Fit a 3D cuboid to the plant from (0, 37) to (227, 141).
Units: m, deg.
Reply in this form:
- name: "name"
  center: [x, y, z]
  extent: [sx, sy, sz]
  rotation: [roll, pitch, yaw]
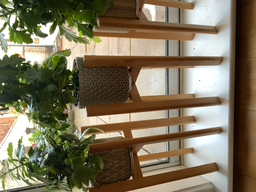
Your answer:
- name: "plant"
  center: [-0.040, -0.030, 0.660]
  extent: [0.260, 0.640, 0.210]
  rotation: [-178, 86, -68]
